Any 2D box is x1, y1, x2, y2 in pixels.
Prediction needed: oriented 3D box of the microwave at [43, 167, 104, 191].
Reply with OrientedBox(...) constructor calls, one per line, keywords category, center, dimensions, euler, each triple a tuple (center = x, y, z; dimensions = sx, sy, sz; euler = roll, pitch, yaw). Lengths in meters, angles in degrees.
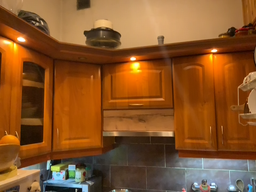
OrientedBox(category="microwave", center=(-0.490, 0.850, 1.960), dimensions=(0.460, 0.290, 0.310), euler=(-2, -6, 14))
